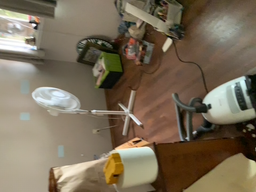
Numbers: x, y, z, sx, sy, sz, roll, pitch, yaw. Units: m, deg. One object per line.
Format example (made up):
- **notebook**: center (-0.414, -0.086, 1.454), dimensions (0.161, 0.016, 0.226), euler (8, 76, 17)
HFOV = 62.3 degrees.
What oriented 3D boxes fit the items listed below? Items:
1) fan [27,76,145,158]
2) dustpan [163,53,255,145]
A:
- **fan**: center (-0.560, 0.220, 2.690), dimensions (0.760, 1.230, 0.620), euler (45, 127, 52)
- **dustpan**: center (0.610, 0.070, 1.530), dimensions (0.680, 0.290, 0.400), euler (-41, 53, 53)
